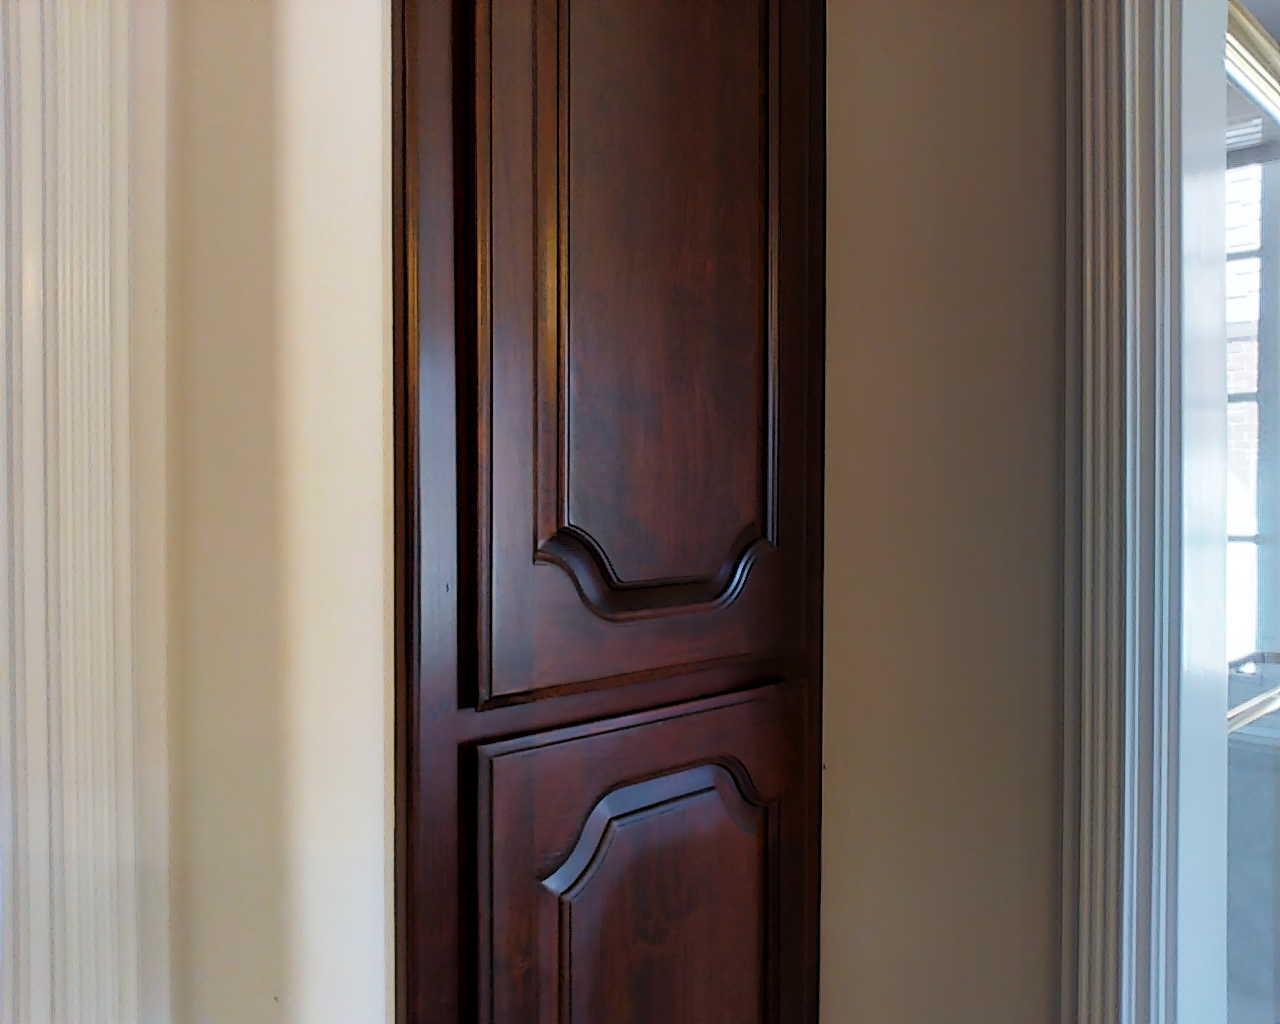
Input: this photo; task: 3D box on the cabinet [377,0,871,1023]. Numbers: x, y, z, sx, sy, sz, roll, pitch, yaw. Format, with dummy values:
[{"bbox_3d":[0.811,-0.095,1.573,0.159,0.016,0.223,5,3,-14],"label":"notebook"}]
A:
[{"bbox_3d":[0.030,0.150,0.960,0.060,2.500,0.560,1,2,44],"label":"cabinet"}]
